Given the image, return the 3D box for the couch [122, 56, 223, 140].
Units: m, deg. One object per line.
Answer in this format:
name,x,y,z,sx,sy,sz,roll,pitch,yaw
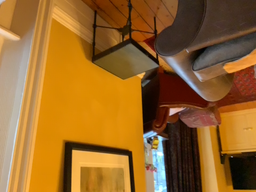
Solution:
couch,0.580,0.120,3.050,1.050,0.840,0.850,10,157,-26
